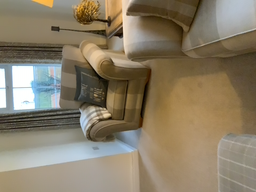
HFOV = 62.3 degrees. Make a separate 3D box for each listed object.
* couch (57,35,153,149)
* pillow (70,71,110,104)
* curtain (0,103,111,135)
[{"bbox_3d":[-0.410,-0.130,2.800,1.030,0.920,1.090,-131,44,-56],"label":"couch"},{"bbox_3d":[-0.470,-0.100,2.660,0.130,0.420,0.380,-55,-40,-62],"label":"pillow"},{"bbox_3d":[-1.400,0.380,3.580,0.170,2.280,0.400,175,92,-67],"label":"curtain"}]
